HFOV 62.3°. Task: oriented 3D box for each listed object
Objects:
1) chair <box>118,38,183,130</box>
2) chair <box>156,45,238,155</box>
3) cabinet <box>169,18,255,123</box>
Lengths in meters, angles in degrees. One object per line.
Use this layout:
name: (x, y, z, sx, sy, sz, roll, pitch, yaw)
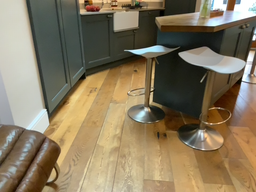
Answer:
chair: (0.180, -0.130, 1.970, 0.390, 0.700, 0.400, -16, 31, -31)
chair: (0.520, 0.010, 1.680, 0.400, 0.700, 0.370, -22, 34, -40)
cabinet: (1.020, -0.390, 2.410, 0.350, 0.810, 1.420, 21, 32, 35)
